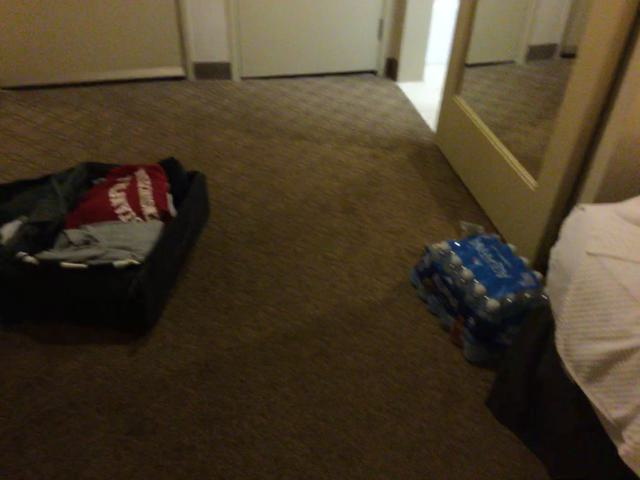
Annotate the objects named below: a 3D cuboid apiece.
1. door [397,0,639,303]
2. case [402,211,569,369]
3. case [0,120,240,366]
[{"bbox_3d":[0.590,-0.790,1.810,0.170,1.510,1.240,-5,35,-10],"label":"door"},{"bbox_3d":[0.460,0.130,1.710,0.290,0.220,0.430,-5,35,-10],"label":"case"},{"bbox_3d":[-0.820,-0.060,1.850,0.950,0.260,0.900,4,34,3],"label":"case"}]
